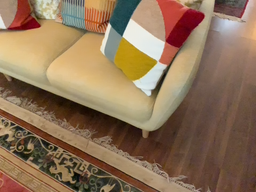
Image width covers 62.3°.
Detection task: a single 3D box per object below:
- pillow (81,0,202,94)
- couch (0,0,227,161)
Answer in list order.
[{"bbox_3d":[0.020,-0.310,0.990,0.450,0.380,0.190,45,56,11],"label":"pillow"},{"bbox_3d":[-0.280,-0.460,1.400,1.560,0.780,0.940,20,55,17],"label":"couch"}]
